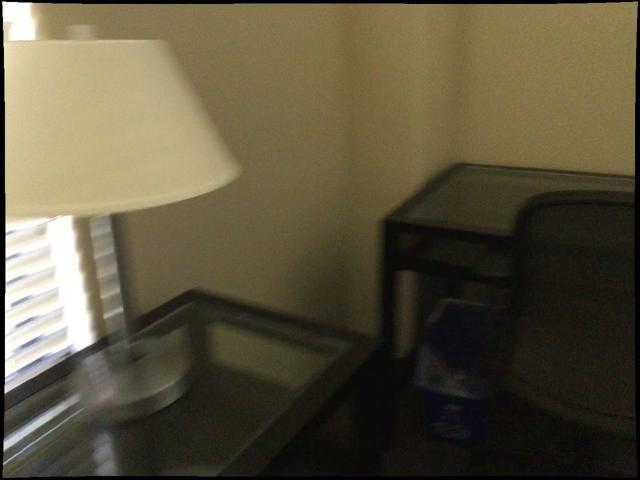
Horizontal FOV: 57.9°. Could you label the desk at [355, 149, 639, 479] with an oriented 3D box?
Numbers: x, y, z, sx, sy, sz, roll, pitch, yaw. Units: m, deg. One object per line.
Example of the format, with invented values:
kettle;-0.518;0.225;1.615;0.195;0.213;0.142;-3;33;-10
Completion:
desk;0.889;0.260;1.740;1.309;0.811;0.800;9;26;29
